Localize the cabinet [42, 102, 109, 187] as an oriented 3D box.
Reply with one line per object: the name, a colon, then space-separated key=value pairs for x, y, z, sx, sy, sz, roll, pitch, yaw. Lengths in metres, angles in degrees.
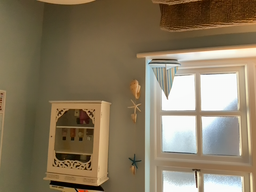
cabinet: x=-0.350 y=0.310 z=1.460 sx=0.400 sy=0.530 sz=0.160 roll=-1 pitch=174 yaw=14
